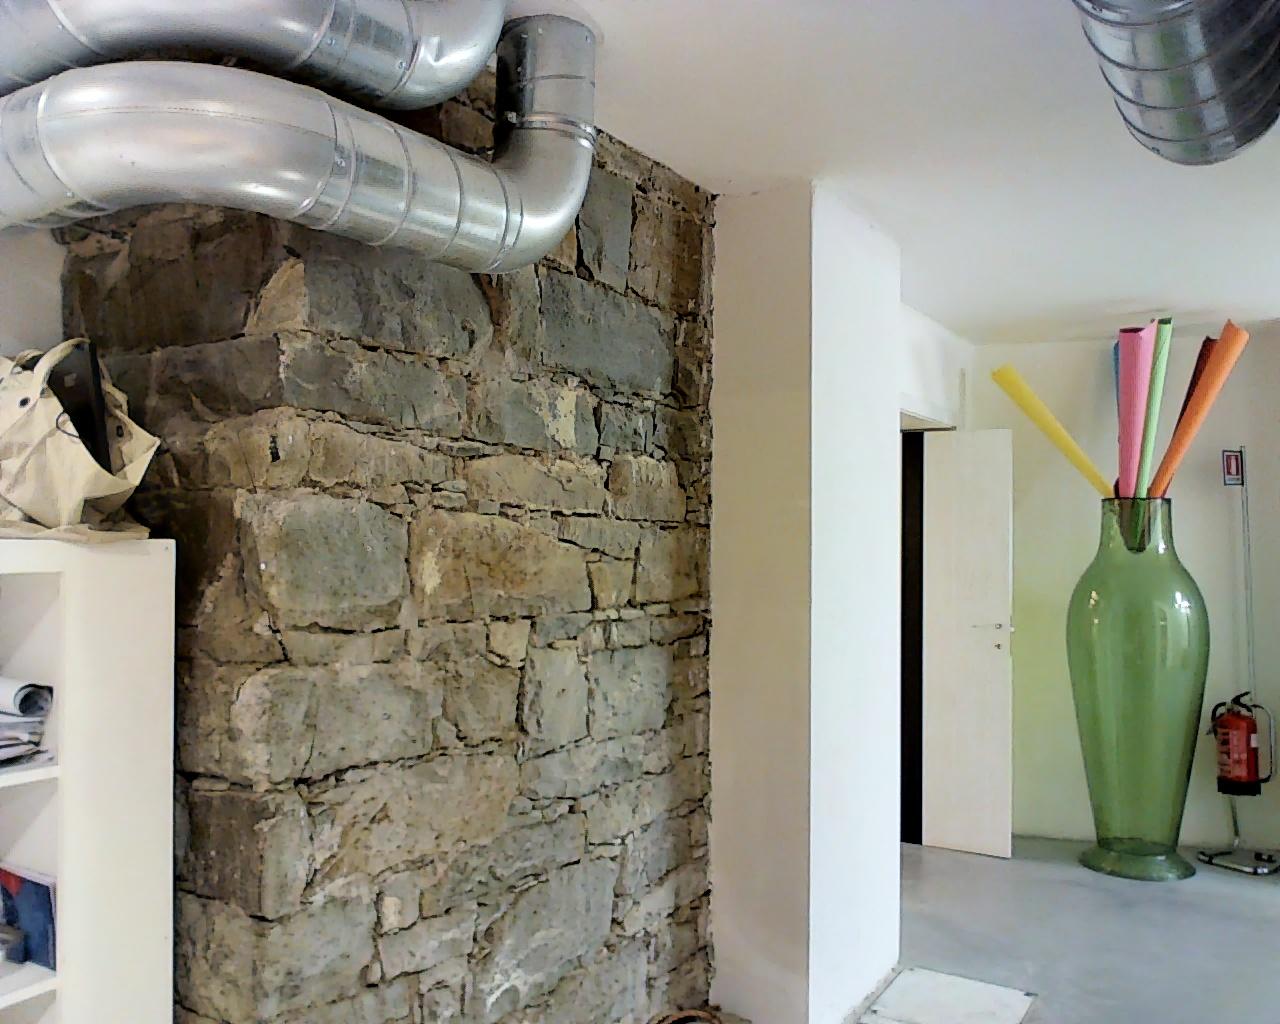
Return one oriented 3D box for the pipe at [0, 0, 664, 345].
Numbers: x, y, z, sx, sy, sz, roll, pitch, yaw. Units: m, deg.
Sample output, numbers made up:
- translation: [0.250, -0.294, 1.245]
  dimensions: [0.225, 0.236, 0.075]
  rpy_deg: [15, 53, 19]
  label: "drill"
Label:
- translation: [-0.540, -0.700, 1.930]
  dimensions: [0.670, 0.560, 1.140]
  rpy_deg: [0, -2, 32]
  label: "pipe"
